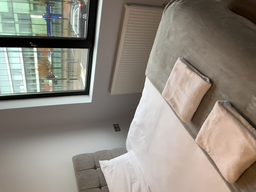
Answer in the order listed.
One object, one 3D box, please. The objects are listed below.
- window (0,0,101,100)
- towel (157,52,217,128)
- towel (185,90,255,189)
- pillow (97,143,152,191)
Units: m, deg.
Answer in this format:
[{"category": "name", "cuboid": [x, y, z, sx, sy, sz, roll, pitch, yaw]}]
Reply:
[{"category": "window", "cuboid": [-1.220, -0.550, 2.440, 0.120, 1.660, 1.460, -116, 31, -42]}, {"category": "towel", "cuboid": [0.400, -0.050, 1.550, 0.380, 0.110, 0.400, -117, 32, -44]}, {"category": "towel", "cuboid": [0.540, 0.250, 1.230, 0.370, 0.080, 0.430, -116, 31, -43]}, {"category": "pillow", "cuboid": [-0.040, 0.930, 2.390, 0.130, 0.470, 0.700, 79, 171, -45]}]
